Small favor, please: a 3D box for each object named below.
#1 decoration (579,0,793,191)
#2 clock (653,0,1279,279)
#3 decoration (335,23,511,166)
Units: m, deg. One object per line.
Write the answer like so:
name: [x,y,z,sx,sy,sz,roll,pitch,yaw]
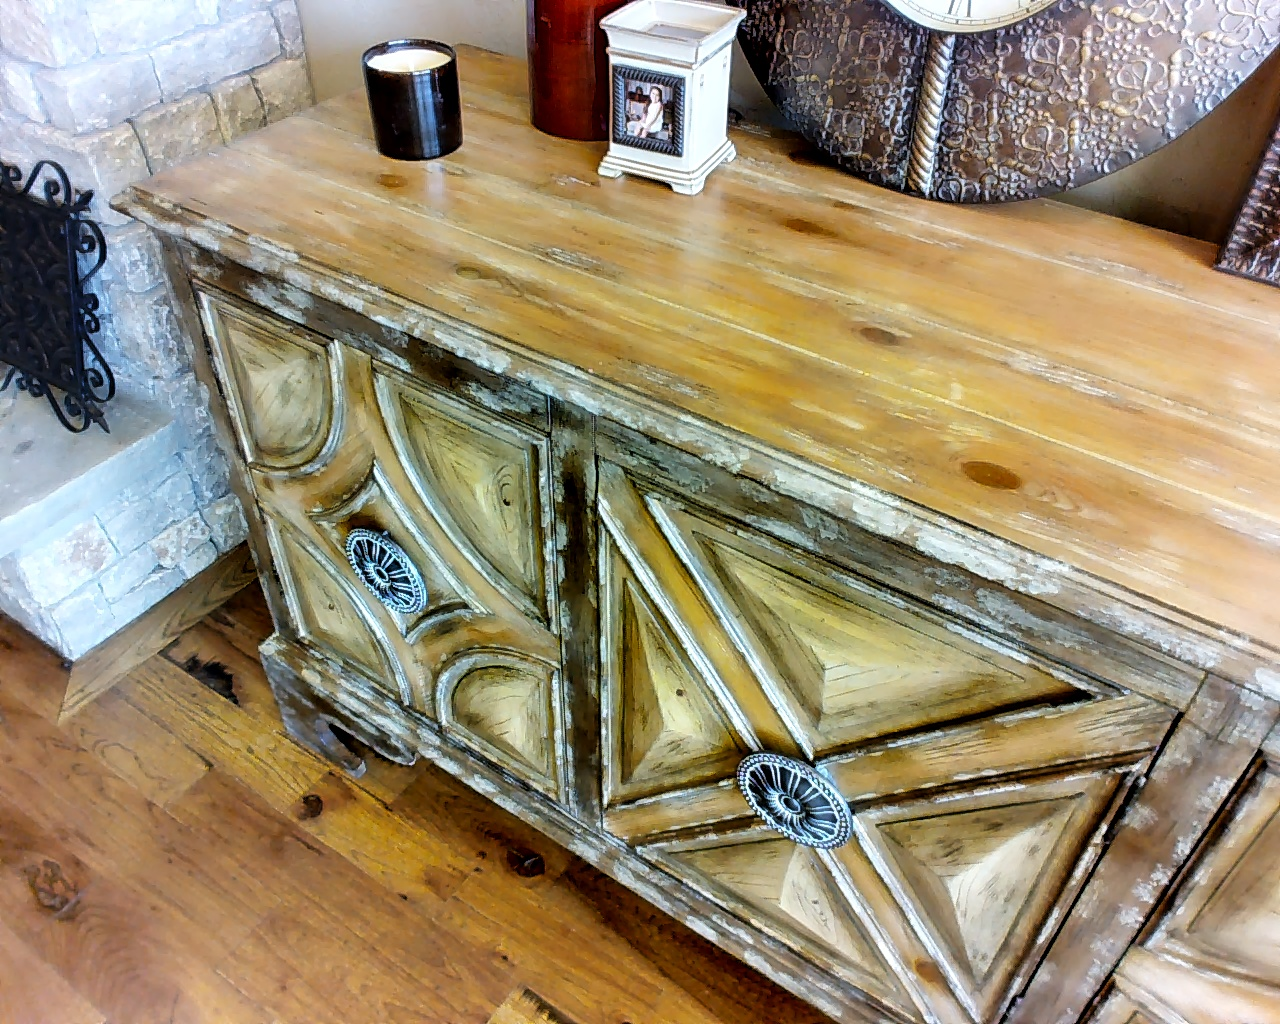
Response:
decoration: [0.050,-0.470,1.160,0.150,0.150,0.180,24,47,24]
clock: [0.320,-0.610,1.020,0.640,0.630,0.180,20,45,28]
decoration: [-0.240,-0.470,1.200,0.130,0.090,0.130,31,50,29]
